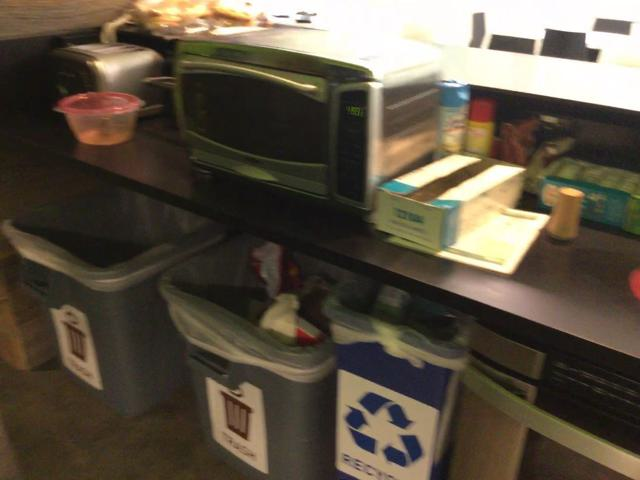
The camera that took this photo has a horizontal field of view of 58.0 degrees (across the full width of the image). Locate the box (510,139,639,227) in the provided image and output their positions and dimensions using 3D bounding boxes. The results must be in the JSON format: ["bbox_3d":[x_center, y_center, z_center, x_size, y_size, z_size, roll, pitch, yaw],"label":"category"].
[{"bbox_3d":[0.550,-0.130,1.230,0.210,0.090,0.190,21,32,32],"label":"box"}]
